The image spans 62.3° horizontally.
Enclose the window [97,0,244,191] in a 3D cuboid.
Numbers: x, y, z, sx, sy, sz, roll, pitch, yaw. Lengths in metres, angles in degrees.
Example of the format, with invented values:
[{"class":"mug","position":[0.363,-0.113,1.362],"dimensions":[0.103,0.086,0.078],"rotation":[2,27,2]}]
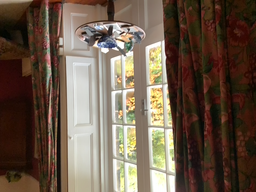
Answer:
[{"class":"window","position":[0.210,0.290,2.080],"dimensions":[0.220,1.760,1.650],"rotation":[0,177,-37]}]
